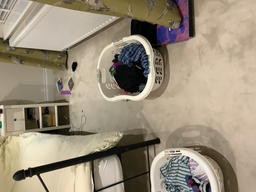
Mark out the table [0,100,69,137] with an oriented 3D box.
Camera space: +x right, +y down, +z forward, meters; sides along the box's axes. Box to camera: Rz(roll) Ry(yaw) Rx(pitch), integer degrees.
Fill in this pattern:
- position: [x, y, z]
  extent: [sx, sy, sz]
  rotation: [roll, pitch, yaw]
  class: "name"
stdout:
- position: [-1.260, 0.260, 2.730]
  extent: [0.560, 0.780, 0.370]
  rotation: [-6, 86, 49]
  class: "table"
